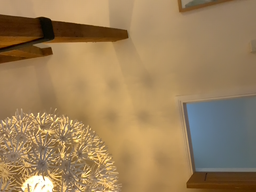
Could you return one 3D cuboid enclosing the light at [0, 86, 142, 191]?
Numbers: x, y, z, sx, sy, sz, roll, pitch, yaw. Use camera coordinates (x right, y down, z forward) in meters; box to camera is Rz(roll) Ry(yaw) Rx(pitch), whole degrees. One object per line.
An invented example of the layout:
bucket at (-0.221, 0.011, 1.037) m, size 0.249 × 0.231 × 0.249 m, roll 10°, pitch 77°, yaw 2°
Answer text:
light at (-0.990, 0.620, 1.460) m, size 1.860 × 1.000 × 1.000 m, roll -5°, pitch -166°, yaw 26°
